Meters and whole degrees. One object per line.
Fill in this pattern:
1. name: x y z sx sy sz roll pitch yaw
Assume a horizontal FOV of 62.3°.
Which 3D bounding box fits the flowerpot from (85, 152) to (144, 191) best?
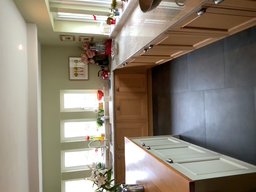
1. flowerpot: -0.200 1.180 2.690 0.700 0.610 0.750 161 108 -74
